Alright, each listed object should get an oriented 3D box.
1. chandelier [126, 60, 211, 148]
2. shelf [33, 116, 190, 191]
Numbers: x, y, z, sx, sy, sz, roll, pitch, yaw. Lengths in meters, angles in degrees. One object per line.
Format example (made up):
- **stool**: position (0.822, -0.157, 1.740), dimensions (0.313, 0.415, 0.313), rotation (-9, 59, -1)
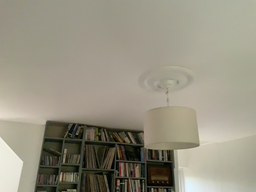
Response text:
- **chandelier**: position (0.330, 0.100, 1.760), dimensions (0.580, 0.570, 0.430), rotation (-7, 157, 17)
- **shelf**: position (-0.170, 1.630, 2.900), dimensions (2.170, 2.500, 0.380), rotation (8, 157, -17)
